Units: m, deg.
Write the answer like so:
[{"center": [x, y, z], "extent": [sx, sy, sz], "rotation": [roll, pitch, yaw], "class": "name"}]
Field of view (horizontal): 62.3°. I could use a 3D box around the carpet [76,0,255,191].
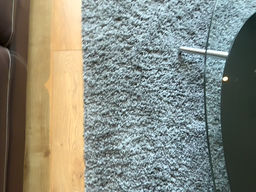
[{"center": [0.440, 0.260, 0.800], "extent": [1.250, 0.060, 1.780], "rotation": [-2, 80, -2], "class": "carpet"}]
